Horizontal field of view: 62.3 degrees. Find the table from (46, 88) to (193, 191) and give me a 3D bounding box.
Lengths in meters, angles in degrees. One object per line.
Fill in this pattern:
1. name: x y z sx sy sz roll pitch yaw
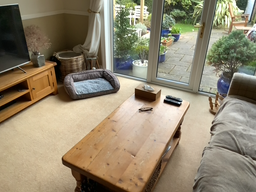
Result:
1. table: 0.040 0.460 1.840 0.620 0.490 1.240 18 33 25
